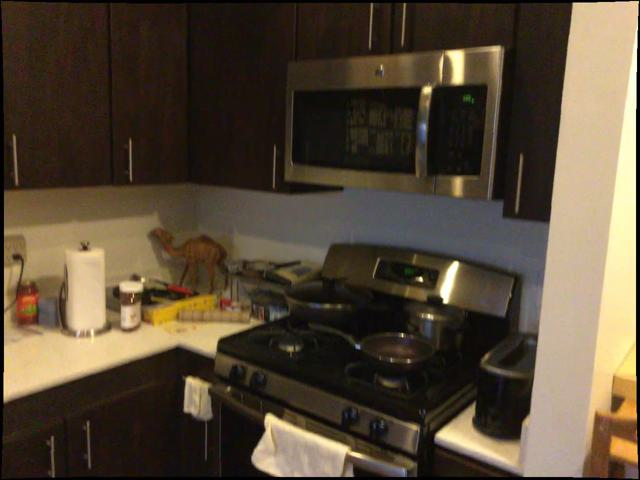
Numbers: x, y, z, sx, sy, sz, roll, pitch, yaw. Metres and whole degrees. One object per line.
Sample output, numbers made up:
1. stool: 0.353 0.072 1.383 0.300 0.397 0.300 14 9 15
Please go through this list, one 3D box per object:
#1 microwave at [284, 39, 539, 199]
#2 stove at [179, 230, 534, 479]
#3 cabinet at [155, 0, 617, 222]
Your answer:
1. microwave: 0.269 -0.371 1.820 0.689 0.401 0.360 8 13 35
2. stove: 0.130 0.621 1.890 0.829 1.143 0.759 8 12 33
3. cabinet: 0.150 -0.521 2.060 1.518 0.712 0.550 8 12 33
